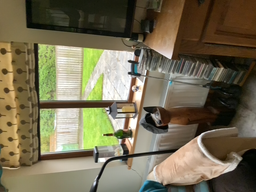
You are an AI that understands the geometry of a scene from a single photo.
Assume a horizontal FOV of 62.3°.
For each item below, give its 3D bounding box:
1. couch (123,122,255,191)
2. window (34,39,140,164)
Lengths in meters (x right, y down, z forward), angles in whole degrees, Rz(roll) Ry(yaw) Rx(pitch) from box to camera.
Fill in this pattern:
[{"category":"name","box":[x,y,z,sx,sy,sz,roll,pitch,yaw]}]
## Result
[{"category":"couch","box":[0.610,0.950,1.640,1.020,0.860,1.100,116,147,-50]},{"category":"window","box":[-0.400,0.090,2.020,0.160,0.870,1.140,-130,44,-60]}]
